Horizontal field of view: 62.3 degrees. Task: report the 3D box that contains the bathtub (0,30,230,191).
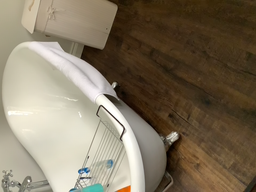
[{"bbox_3d":[-0.310,0.190,1.460,1.510,0.720,0.740,37,113,42],"label":"bathtub"}]
